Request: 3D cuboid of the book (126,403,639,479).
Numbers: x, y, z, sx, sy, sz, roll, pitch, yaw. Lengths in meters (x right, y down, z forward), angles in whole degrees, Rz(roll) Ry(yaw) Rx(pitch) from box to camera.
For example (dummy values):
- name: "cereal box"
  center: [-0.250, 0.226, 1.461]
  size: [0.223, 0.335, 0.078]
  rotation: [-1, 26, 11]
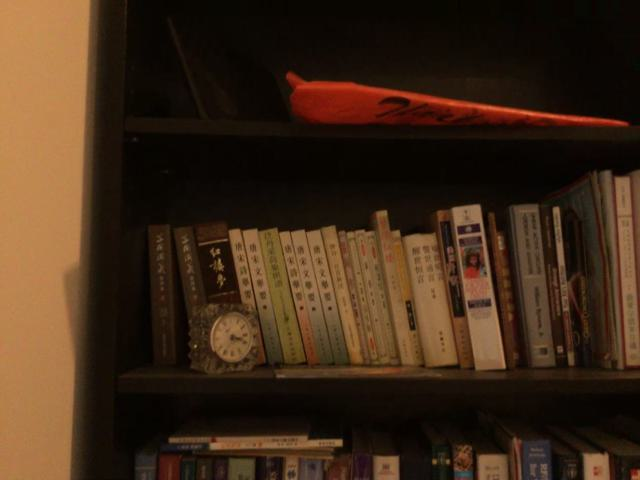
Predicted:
- name: "book"
  center: [0.130, 0.400, 0.830]
  size: [0.750, 0.270, 0.210]
  rotation: [-1, -8, -3]

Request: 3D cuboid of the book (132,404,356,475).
- name: "book"
  center: [-0.100, 0.280, 0.830]
  size: [0.280, 0.050, 0.200]
  rotation: [-1, -8, -3]
